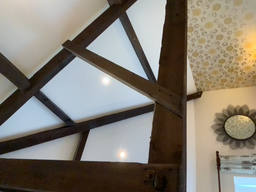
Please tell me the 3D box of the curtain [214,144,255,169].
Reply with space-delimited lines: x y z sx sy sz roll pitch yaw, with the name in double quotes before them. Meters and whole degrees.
"curtain" 2.330 0.870 3.040 0.130 2.010 0.330 57 -145 -46
